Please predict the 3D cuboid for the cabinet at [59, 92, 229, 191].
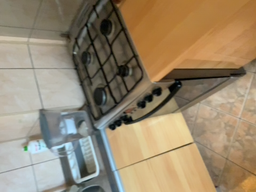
[{"bbox_3d":[0.100,0.480,1.510,0.530,0.840,0.800,-41,65,45],"label":"cabinet"}]
